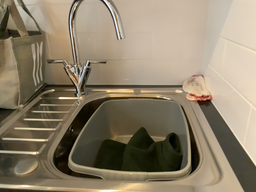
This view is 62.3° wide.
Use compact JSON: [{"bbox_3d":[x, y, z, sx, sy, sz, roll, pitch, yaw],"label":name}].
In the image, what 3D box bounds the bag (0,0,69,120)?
[{"bbox_3d":[-0.530,-0.150,0.690,0.550,0.350,0.300,0,24,1],"label":"bag"}]
